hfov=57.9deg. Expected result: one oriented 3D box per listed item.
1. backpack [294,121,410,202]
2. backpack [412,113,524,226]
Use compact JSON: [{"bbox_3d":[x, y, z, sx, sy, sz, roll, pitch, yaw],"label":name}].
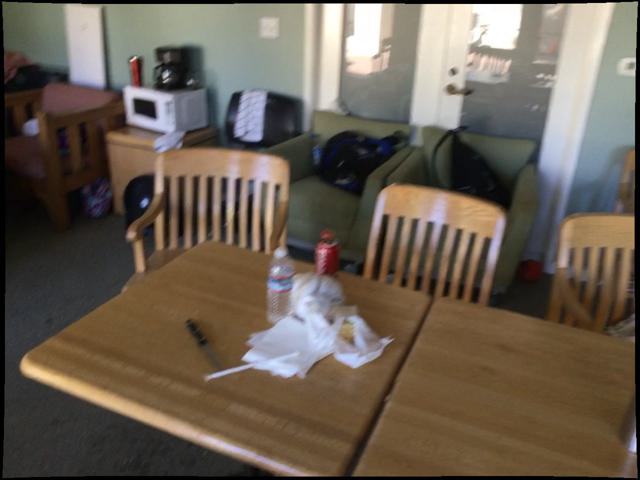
[{"bbox_3d":[0.180,-0.450,3.200,0.510,0.260,0.430,12,28,21],"label":"backpack"},{"bbox_3d":[0.729,-0.360,2.860,0.430,0.410,0.330,12,28,21],"label":"backpack"}]
